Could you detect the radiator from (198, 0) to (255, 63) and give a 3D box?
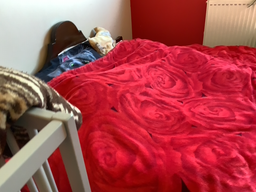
[{"bbox_3d":[1.070,-0.590,1.930,0.770,0.550,0.130,6,32,17],"label":"radiator"}]
